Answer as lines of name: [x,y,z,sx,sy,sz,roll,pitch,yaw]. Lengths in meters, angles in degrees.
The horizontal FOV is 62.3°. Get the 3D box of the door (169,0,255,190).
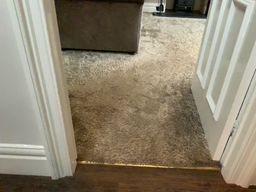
door: [0.430,-0.670,0.960,0.230,2.130,1.000,2,33,5]
